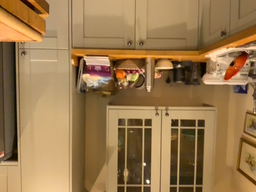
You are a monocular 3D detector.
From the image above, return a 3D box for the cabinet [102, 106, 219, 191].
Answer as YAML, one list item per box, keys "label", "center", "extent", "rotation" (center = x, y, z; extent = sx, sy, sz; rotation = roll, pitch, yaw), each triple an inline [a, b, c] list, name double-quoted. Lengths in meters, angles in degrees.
- label: "cabinet"
  center: [0.300, 0.630, 2.190]
  extent: [1.090, 1.010, 0.340]
  rotation: [1, -176, -1]
